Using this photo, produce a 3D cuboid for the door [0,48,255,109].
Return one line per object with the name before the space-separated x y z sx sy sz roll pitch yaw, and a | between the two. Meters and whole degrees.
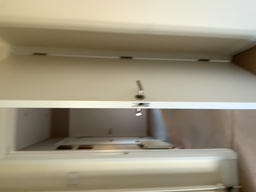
door | 0.050 -0.170 1.590 0.950 1.990 0.040 -103 16 -63
